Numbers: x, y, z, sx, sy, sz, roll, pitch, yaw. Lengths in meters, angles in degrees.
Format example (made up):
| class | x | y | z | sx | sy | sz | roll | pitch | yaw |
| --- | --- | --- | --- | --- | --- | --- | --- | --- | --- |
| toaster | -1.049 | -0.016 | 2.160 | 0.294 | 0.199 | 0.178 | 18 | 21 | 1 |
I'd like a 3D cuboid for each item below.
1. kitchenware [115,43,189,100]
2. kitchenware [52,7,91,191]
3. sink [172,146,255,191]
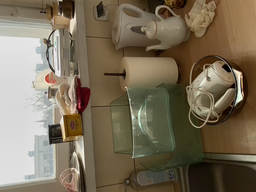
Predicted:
| class | x | y | z | sx | sy | sz | roll | pitch | yaw |
| --- | --- | --- | --- | --- | --- | --- | --- | --- | --- |
| kitchenware | 0.100 | -0.100 | 0.980 | 0.210 | 0.250 | 0.190 | 144 | 122 | -65 |
| kitchenware | -0.310 | 0.060 | 1.080 | 0.400 | 0.120 | 0.870 | 144 | 122 | -65 |
| sink | 0.410 | 0.400 | 0.780 | 0.510 | 0.200 | 0.400 | 148 | 119 | -66 |
